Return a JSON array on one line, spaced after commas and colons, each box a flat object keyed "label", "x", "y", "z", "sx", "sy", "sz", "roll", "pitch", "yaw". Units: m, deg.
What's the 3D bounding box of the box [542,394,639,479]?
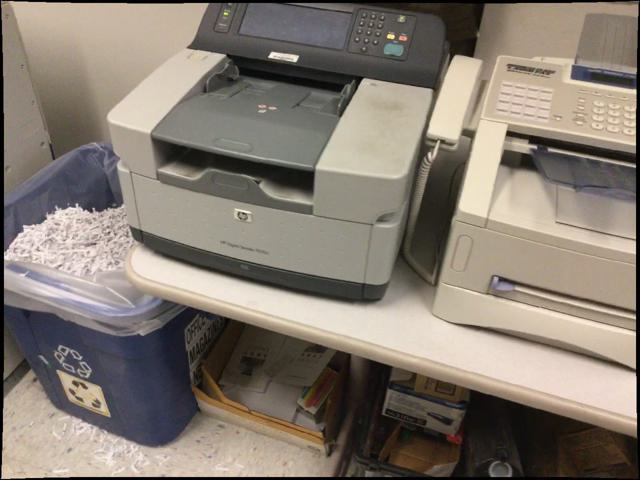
[{"label": "box", "x": 0.569, "y": 0.431, "z": 1.230, "sx": 0.140, "sy": 0.160, "sz": 0.090, "roll": 8, "pitch": 33, "yaw": 10}]

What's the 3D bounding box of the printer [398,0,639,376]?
[{"label": "printer", "x": 0.409, "y": -0.120, "z": 0.940, "sx": 0.469, "sy": 0.391, "sz": 0.510, "roll": 8, "pitch": 33, "yaw": 10}]

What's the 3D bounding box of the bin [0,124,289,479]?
[{"label": "bin", "x": -0.479, "y": 0.150, "z": 1.470, "sx": 0.599, "sy": 0.631, "sz": 0.540, "roll": 18, "pitch": 36, "yaw": 23}]

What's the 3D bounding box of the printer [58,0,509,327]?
[{"label": "printer", "x": -0.010, "y": -0.211, "z": 1.020, "sx": 0.569, "sy": 0.391, "sz": 0.520, "roll": 8, "pitch": 33, "yaw": 10}]
